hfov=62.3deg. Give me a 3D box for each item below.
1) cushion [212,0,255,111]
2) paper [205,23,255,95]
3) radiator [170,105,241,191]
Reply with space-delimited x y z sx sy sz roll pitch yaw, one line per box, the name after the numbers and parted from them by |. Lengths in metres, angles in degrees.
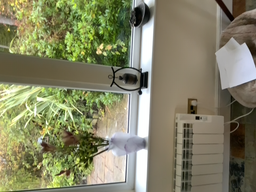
1.010 -0.320 1.600 0.660 0.330 0.840 170 104 -66 | cushion
0.830 -0.270 1.700 0.390 0.120 0.450 155 117 -62 | paper
0.640 0.630 1.740 0.120 0.600 1.080 177 97 -66 | radiator
